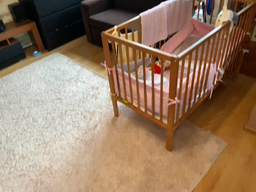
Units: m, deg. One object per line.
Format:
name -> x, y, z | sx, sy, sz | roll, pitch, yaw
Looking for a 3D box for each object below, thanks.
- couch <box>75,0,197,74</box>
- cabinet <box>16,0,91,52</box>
couch -> 0.070, -1.090, 2.910 | 1.420, 0.870, 0.800 | 28, 50, 33
cabinet -> -1.140, -1.360, 3.260 | 0.530, 1.000, 0.820 | 27, 50, 33
